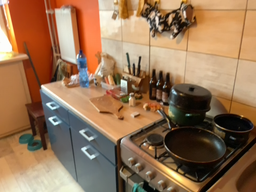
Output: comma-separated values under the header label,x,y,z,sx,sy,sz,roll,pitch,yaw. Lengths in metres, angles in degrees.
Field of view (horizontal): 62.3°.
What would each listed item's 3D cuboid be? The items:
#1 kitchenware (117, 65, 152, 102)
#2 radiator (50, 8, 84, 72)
label,x,y,z,sx,sy,sz,roll,pitch,yaw
kitchenware,0.050,-0.110,1.780,0.180,0.220,0.230,-18,29,-33
radiator,-0.740,-0.690,2.590,0.100,0.700,0.470,-21,31,-38
